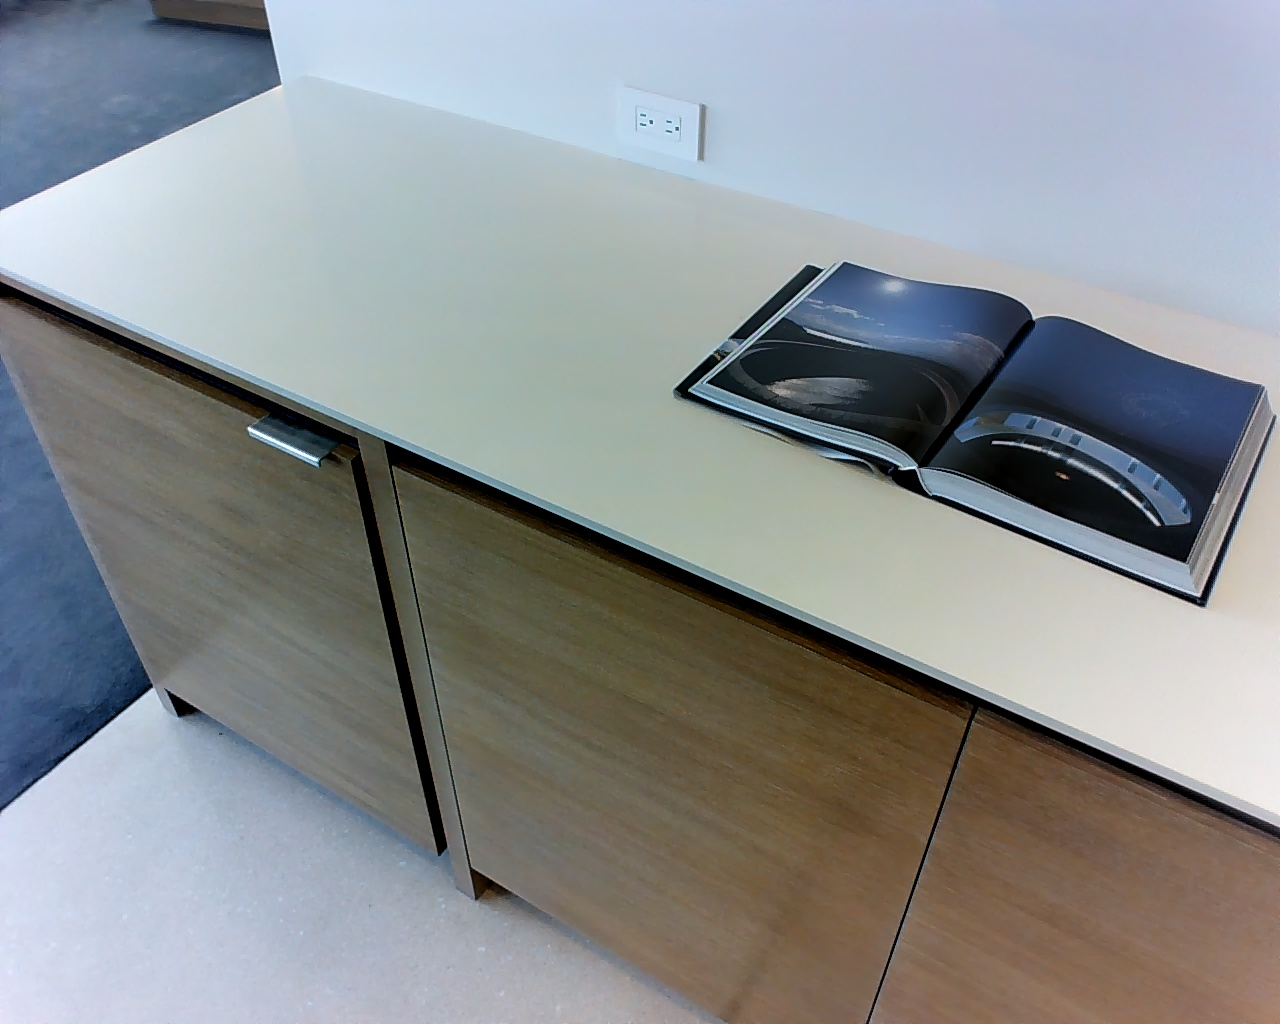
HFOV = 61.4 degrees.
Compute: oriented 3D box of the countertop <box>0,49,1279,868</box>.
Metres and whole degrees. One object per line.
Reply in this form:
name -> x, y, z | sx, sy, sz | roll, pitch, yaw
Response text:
countertop -> 0.420, -0.080, 1.040 | 2.580, 0.040, 0.770 | 22, 46, 22
